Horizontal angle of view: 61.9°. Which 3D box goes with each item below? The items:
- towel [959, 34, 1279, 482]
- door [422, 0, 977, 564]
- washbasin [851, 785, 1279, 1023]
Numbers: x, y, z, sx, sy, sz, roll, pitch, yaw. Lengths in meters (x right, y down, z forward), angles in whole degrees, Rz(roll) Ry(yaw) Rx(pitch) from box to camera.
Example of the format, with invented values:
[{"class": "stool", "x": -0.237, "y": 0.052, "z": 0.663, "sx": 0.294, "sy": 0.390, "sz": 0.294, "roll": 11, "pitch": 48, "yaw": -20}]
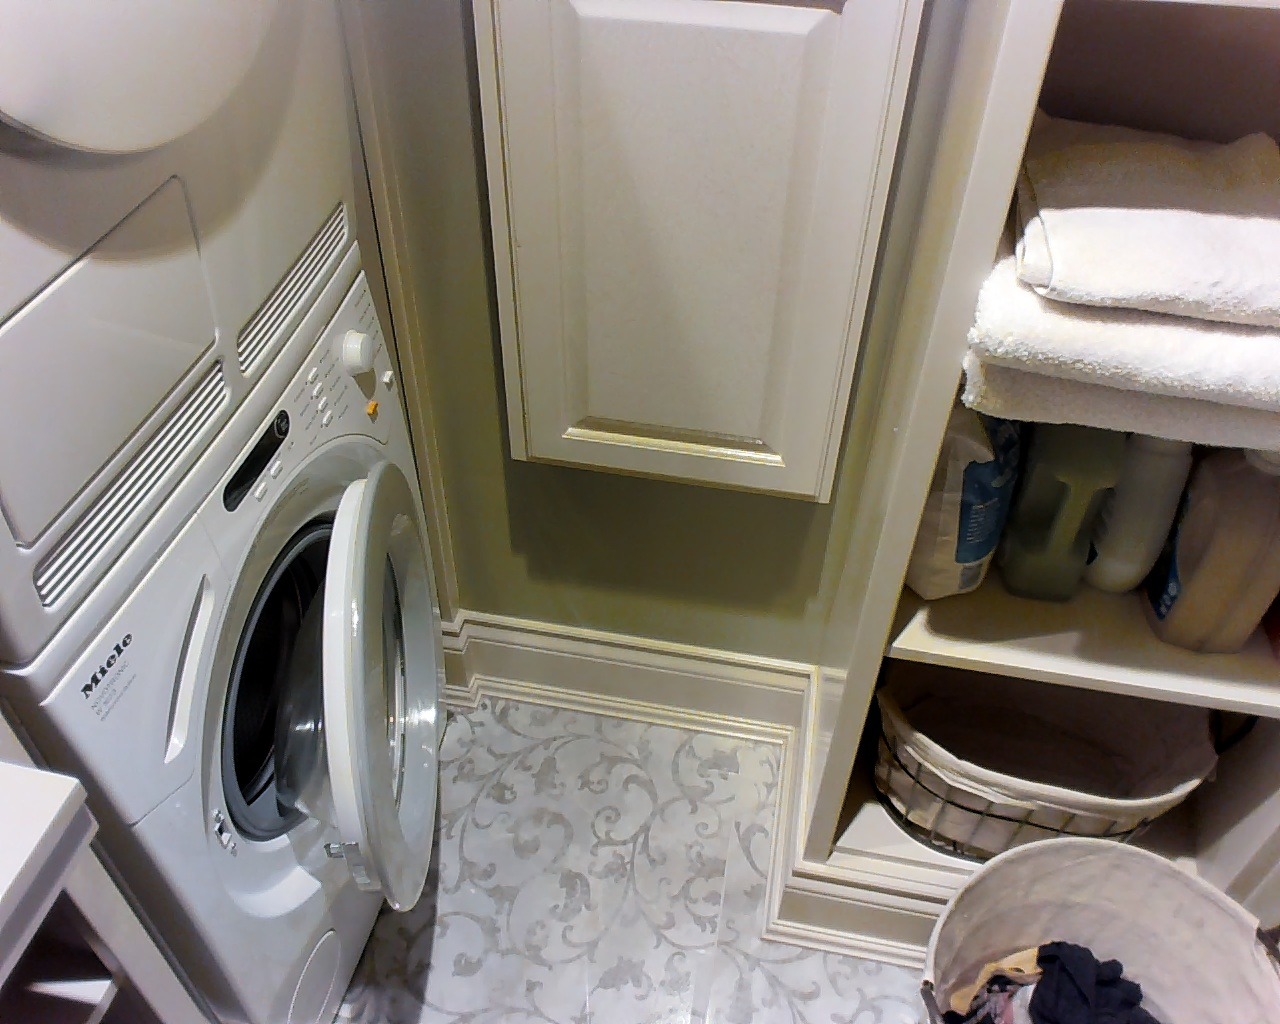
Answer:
[{"class": "towel", "x": 0.510, "y": -0.210, "z": 0.870, "sx": 0.450, "sy": 0.180, "sz": 0.360, "roll": 10, "pitch": 44, "yaw": 8}, {"class": "door", "x": 0.050, "y": -0.480, "z": 0.930, "sx": 0.470, "sy": 1.310, "sz": 0.110, "roll": 8, "pitch": 44, "yaw": 7}, {"class": "washbasin", "x": 0.470, "y": 0.620, "z": 1.190, "sx": 0.410, "sy": 0.400, "sz": 0.400, "roll": 8, "pitch": 44, "yaw": 6}]
